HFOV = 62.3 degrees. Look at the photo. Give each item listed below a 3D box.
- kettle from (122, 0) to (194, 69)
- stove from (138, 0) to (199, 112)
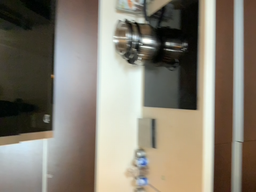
[{"bbox_3d":[0.170,-0.340,1.280,0.300,0.320,0.300,178,92,-65],"label":"kettle"},{"bbox_3d":[0.200,-0.220,1.210,0.520,0.040,0.590,178,93,-65],"label":"stove"}]
